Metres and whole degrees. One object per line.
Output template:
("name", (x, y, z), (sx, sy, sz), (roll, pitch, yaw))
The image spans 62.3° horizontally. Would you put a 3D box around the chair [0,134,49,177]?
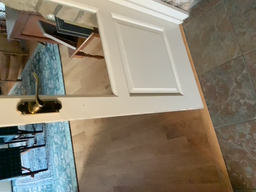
("chair", (-1.780, 0.900, 3.140), (0.580, 0.950, 0.480), (-22, 74, 46))
